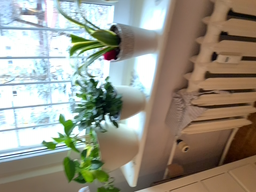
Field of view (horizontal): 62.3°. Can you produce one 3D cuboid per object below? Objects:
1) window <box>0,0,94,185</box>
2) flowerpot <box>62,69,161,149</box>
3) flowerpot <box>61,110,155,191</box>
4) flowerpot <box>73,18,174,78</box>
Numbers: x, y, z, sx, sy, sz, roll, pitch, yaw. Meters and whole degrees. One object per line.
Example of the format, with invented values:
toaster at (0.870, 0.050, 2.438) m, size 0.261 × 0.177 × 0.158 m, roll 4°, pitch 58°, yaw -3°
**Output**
window at (-0.580, 0.010, 0.910) m, size 0.200 × 0.790 × 0.840 m, roll -131°, pitch 43°, yaw -51°
flowerpot at (-0.090, 0.040, 0.990) m, size 0.230 × 0.380 × 0.250 m, roll -131°, pitch 43°, yaw -51°
flowerpot at (-0.130, 0.290, 1.140) m, size 0.300 × 0.400 × 0.260 m, roll -126°, pitch 39°, yaw -47°
flowerpot at (-0.030, -0.200, 0.860) m, size 0.210 × 0.340 × 0.160 m, roll -131°, pitch 42°, yaw -51°
